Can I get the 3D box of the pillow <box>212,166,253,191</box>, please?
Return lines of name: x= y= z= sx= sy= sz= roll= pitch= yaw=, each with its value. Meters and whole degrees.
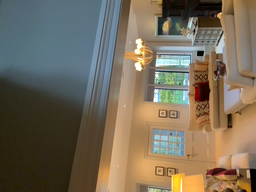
pillow: x=1.630 y=1.350 z=3.360 sx=0.620 sy=0.320 sz=0.370 roll=70 pitch=-167 yaw=-77
